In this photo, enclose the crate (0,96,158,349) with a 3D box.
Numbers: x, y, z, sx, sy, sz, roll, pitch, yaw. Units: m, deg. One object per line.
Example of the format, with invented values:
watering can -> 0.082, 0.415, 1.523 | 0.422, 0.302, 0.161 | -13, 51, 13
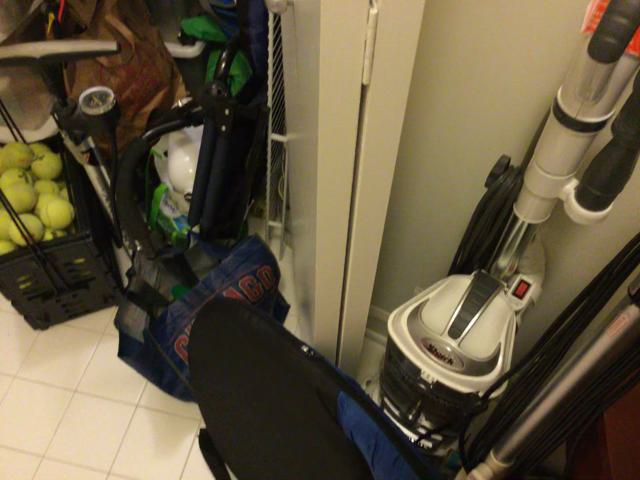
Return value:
crate -> -0.620, -0.040, 1.370 | 0.330, 0.360, 0.400 | -14, 56, -10
